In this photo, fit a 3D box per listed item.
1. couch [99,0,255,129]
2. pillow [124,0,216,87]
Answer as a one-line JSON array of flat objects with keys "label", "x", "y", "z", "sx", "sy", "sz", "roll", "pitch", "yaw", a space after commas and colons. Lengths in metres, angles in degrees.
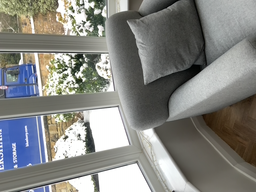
[{"label": "couch", "x": 0.440, "y": -0.430, "z": 1.330, "sx": 1.150, "sy": 0.790, "sz": 0.930, "roll": -41, "pitch": 58, "yaw": 59}, {"label": "pillow", "x": 0.240, "y": -0.380, "z": 1.320, "sx": 0.440, "sy": 0.090, "sz": 0.540, "roll": -16, "pitch": 74, "yaw": 20}]
